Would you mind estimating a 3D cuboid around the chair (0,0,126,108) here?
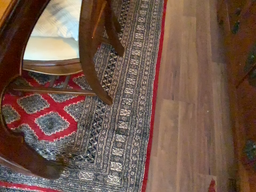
[{"bbox_3d":[-0.310,-0.390,0.870,0.590,0.980,0.500,2,63,0],"label":"chair"}]
